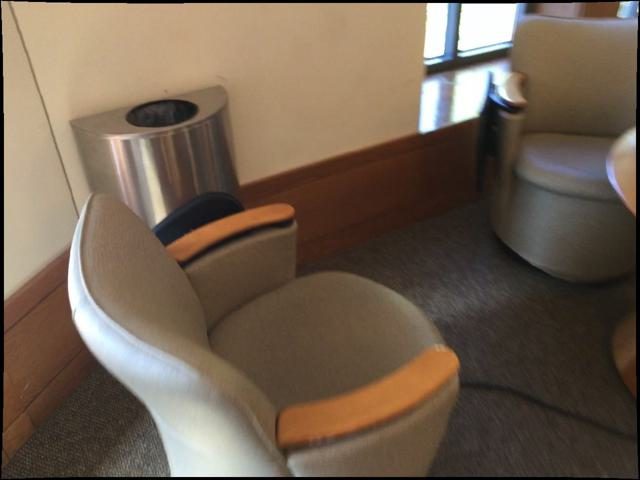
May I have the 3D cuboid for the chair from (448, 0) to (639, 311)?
[{"bbox_3d":[0.948,-0.341,2.080,0.788,0.801,0.771,9,40,15],"label":"chair"}]

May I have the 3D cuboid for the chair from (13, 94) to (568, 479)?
[{"bbox_3d":[-0.100,0.281,1.290,0.789,0.831,0.710,-18,40,-17],"label":"chair"}]
